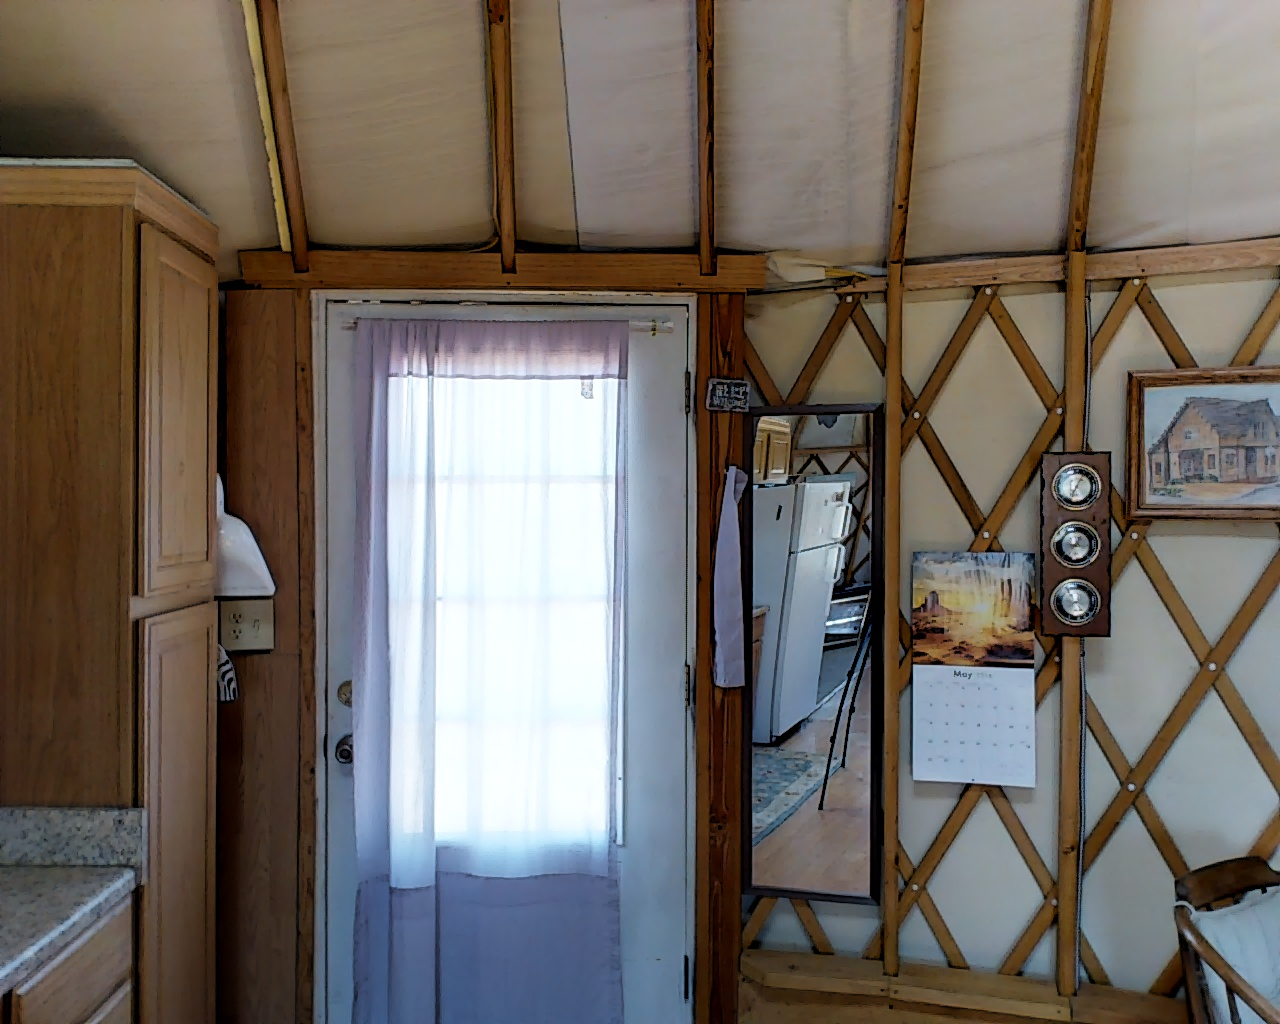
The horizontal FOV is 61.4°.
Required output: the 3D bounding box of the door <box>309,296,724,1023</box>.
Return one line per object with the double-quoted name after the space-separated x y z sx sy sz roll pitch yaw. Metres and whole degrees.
-0.310 0.480 2.750 1.040 2.040 0.070 0 0 -2 "door"
